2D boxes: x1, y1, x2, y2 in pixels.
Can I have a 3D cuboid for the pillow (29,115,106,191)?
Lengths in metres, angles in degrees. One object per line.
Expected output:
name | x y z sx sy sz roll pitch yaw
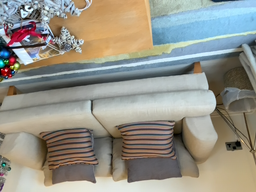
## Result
pillow | -0.560 0.520 1.950 0.570 0.390 0.160 -42 149 -7
